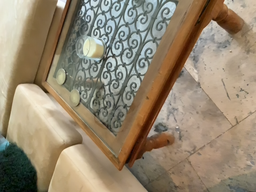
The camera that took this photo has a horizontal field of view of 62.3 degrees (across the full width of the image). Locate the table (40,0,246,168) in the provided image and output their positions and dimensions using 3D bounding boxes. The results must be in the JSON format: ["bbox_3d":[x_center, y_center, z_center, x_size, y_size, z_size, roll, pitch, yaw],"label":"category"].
[{"bbox_3d":[0.000,-0.230,1.180,0.790,0.450,0.800,37,112,34],"label":"table"}]
